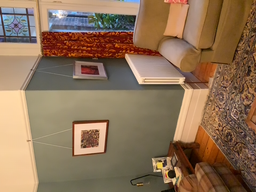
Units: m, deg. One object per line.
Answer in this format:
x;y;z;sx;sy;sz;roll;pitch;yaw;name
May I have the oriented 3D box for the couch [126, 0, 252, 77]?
0.570;-1.000;2.370;1.120;0.900;1.230;-114;26;-62;couch
